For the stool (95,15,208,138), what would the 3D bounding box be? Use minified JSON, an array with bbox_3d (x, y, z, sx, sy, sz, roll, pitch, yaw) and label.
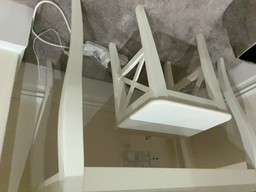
[{"bbox_3d":[0.090,-0.070,1.010,0.410,0.460,0.230,10,149,-30],"label":"stool"}]
